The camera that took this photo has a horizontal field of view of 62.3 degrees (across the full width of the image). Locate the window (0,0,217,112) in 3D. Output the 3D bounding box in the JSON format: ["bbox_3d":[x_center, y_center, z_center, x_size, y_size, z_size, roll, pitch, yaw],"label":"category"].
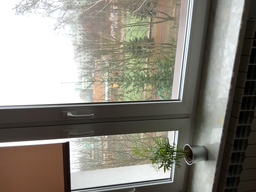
[{"bbox_3d":[-0.100,-0.360,1.050,0.100,1.110,0.860,-129,40,-69],"label":"window"}]
